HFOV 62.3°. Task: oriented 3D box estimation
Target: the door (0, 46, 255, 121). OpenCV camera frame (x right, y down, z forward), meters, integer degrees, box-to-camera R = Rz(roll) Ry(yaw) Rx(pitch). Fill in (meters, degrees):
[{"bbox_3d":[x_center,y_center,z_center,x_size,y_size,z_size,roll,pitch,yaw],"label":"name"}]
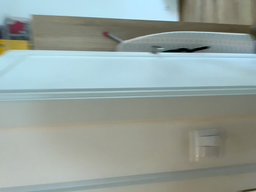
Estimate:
[{"bbox_3d":[0.400,-0.150,1.130,0.900,2.100,0.070,-120,31,-66],"label":"door"}]
